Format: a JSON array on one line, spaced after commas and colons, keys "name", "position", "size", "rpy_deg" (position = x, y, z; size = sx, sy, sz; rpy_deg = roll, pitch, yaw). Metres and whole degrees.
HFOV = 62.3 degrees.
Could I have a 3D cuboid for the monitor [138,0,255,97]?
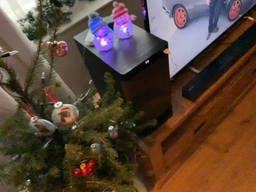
[{"name": "monitor", "position": [0.450, -0.510, 0.980], "size": [1.040, 0.610, 0.020], "rpy_deg": [-40, 52, -19]}]
